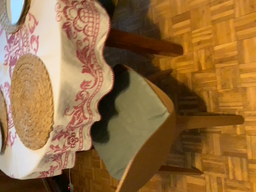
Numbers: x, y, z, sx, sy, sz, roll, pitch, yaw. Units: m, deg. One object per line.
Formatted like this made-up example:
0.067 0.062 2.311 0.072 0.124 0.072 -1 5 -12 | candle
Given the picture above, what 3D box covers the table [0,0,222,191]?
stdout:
-0.360 -0.200 1.320 1.100 0.770 1.110 52 124 28 | table
